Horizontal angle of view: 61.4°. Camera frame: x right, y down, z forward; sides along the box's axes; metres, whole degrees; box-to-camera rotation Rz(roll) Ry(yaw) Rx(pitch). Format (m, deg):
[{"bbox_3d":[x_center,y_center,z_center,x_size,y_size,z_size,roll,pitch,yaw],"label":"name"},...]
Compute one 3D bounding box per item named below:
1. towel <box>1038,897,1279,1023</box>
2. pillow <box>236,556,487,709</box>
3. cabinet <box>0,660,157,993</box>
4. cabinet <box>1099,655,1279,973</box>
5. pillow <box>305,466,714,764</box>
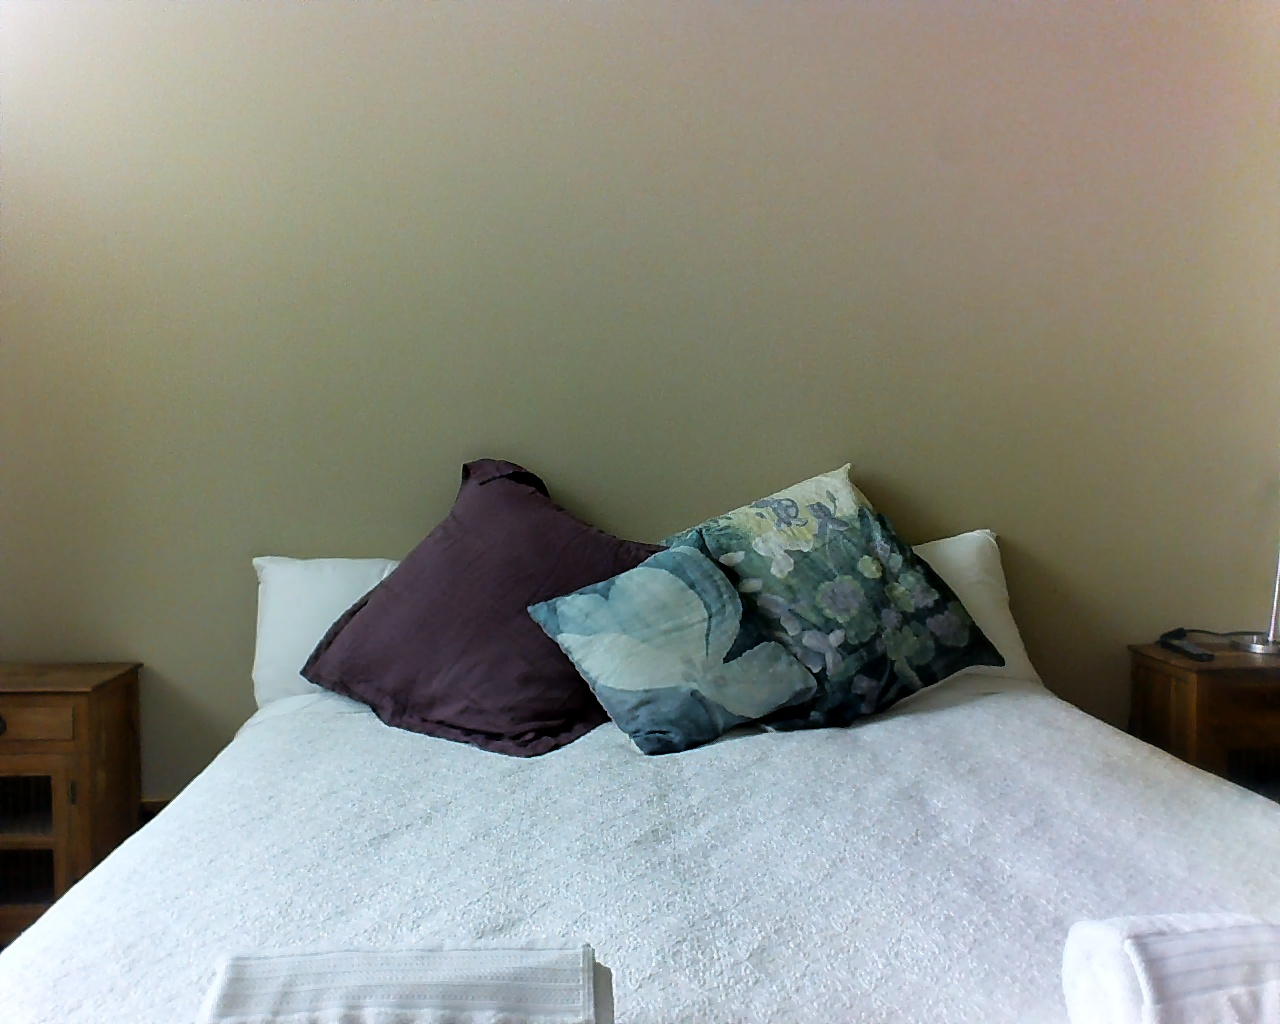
[{"bbox_3d":[0.580,0.440,0.980,0.370,0.110,0.170,0,2,-5],"label":"towel"},{"bbox_3d":[-0.630,0.270,2.510,0.540,0.310,0.230,-1,2,-8],"label":"pillow"},{"bbox_3d":[-1.419,0.690,2.430,0.510,0.650,0.320,0,2,-4],"label":"cabinet"},{"bbox_3d":[1.449,0.710,2.630,0.490,0.660,0.350,0,2,-4],"label":"cabinet"},{"bbox_3d":[-0.280,0.170,2.380,0.680,0.540,0.580,1,3,36],"label":"pillow"}]
